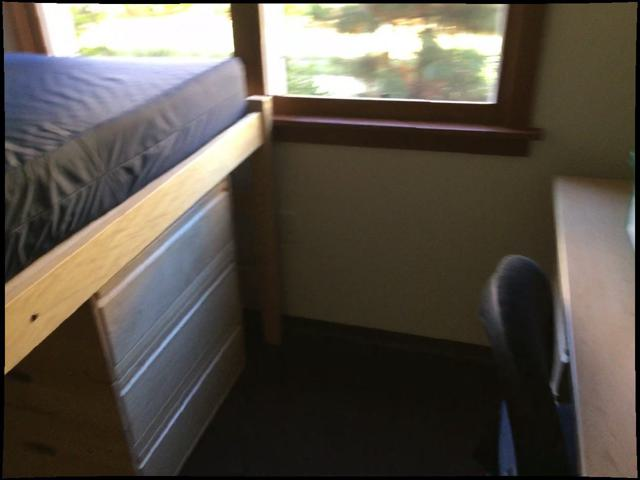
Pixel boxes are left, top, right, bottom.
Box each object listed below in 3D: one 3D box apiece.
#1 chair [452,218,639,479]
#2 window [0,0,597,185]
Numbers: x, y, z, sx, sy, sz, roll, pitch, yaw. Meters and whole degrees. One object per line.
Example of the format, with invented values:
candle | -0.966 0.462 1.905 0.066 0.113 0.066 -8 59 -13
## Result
chair | 0.499 0.491 1.100 0.479 0.892 0.500 6 30 15
window | -0.209 -0.862 1.730 1.925 1.202 0.320 6 30 15
